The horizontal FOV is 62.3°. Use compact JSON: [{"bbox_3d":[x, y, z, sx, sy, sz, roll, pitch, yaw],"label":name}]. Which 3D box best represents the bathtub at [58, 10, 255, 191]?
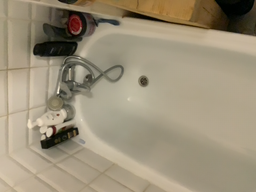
[{"bbox_3d":[0.370,0.050,1.050,1.390,0.540,0.680,19,110,26],"label":"bathtub"}]
